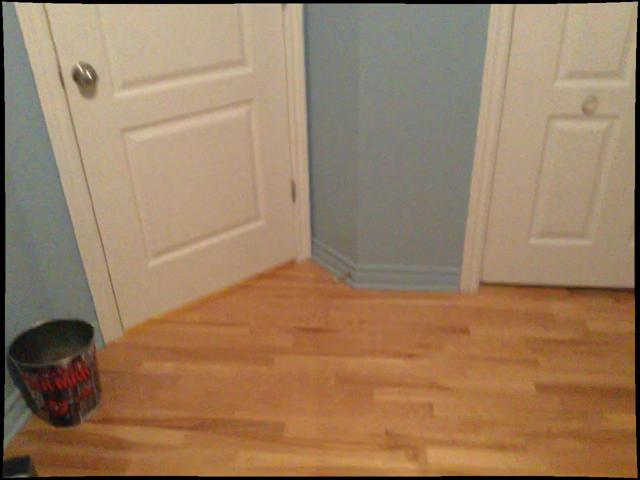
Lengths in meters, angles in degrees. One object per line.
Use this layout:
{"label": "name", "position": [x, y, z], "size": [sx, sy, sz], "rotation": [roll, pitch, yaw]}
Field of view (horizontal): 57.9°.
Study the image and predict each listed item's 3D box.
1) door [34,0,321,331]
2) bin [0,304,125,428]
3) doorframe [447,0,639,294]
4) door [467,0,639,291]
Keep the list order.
{"label": "door", "position": [-0.400, -0.721, 1.780], "size": [0.860, 2.062, 0.110], "rotation": [-21, 36, -30]}
{"label": "bin", "position": [-0.759, 0.370, 1.720], "size": [0.230, 0.260, 0.230], "rotation": [2, 31, 5]}
{"label": "doorframe", "position": [1.029, -0.741, 1.680], "size": [1.099, 2.102, 0.120], "rotation": [2, 31, 5]}
{"label": "door", "position": [1.019, -0.691, 1.730], "size": [0.919, 1.981, 0.090], "rotation": [2, 31, 5]}
